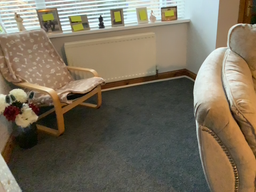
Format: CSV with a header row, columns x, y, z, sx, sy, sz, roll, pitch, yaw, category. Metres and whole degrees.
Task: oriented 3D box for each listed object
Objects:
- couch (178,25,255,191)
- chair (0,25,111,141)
x,y,z,sx,sy,sz,roll,pitch,yaw,category
0.990,0.110,1.320,1.220,0.950,0.970,4,26,18,couch
-0.800,-0.210,2.260,0.890,0.930,0.730,9,28,28,chair
